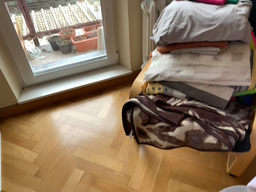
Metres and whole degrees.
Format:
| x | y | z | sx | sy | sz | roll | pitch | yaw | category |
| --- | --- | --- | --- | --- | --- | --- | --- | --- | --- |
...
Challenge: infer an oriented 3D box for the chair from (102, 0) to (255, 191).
| x | y | z | sx | sy | sz | roll | pitch | yaw | category |
| --- | --- | --- | --- | --- | --- | --- | --- | --- | --- |
| 0.440 | -0.100 | 1.240 | 0.710 | 0.900 | 0.920 | 17 | 46 | 20 | chair |
